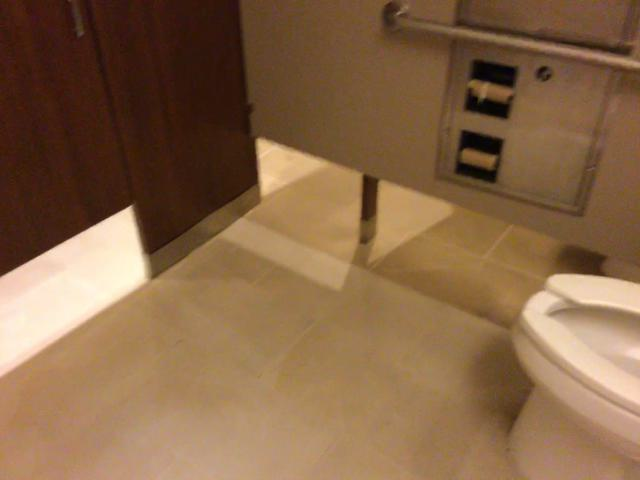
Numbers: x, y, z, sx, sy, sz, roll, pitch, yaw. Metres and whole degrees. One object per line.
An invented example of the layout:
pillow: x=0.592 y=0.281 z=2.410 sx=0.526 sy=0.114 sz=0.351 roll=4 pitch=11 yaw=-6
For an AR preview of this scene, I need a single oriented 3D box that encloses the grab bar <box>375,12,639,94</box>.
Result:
grab bar: x=0.680 y=-0.380 z=1.280 sx=1.250 sy=0.070 sz=0.090 roll=22 pitch=41 yaw=30
